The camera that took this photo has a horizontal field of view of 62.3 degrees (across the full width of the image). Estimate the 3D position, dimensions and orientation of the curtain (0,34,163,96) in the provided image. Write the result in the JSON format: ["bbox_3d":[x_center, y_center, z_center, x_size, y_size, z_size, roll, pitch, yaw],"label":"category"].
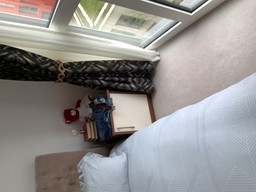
[{"bbox_3d":[-0.830,-0.230,1.840,0.560,2.450,0.220,-39,57,51],"label":"curtain"}]
